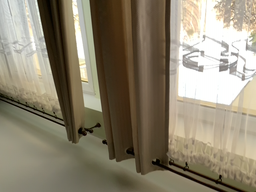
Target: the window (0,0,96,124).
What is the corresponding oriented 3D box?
[{"bbox_3d":[-1.000,-0.850,1.730,1.610,1.860,0.220,14,-153,37],"label":"window"}]
